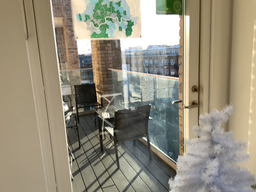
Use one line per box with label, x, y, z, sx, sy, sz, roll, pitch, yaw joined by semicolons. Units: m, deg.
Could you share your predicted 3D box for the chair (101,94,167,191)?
chair;0.050;0.510;2.230;0.500;0.940;0.550;-6;12;-16
